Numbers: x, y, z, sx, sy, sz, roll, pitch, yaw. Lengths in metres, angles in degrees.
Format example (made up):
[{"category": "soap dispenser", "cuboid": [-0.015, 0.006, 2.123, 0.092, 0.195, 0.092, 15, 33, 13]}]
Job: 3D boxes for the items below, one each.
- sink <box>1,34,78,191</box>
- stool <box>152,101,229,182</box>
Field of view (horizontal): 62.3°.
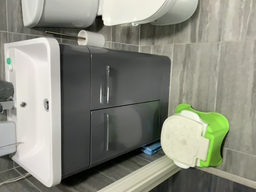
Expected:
[{"category": "sink", "cuboid": [-0.420, 0.060, 0.980, 0.450, 0.120, 0.620, 8, 100, 41]}, {"category": "stool", "cuboid": [0.360, 0.240, 1.260, 0.340, 0.200, 0.340, 15, 105, 39]}]
